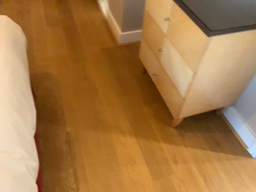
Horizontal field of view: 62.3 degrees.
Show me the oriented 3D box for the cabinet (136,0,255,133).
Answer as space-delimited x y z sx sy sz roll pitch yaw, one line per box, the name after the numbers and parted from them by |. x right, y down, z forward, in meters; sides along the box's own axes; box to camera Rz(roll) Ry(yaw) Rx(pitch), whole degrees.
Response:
0.460 -0.310 1.540 0.510 0.860 0.710 -12 52 -15 | cabinet
